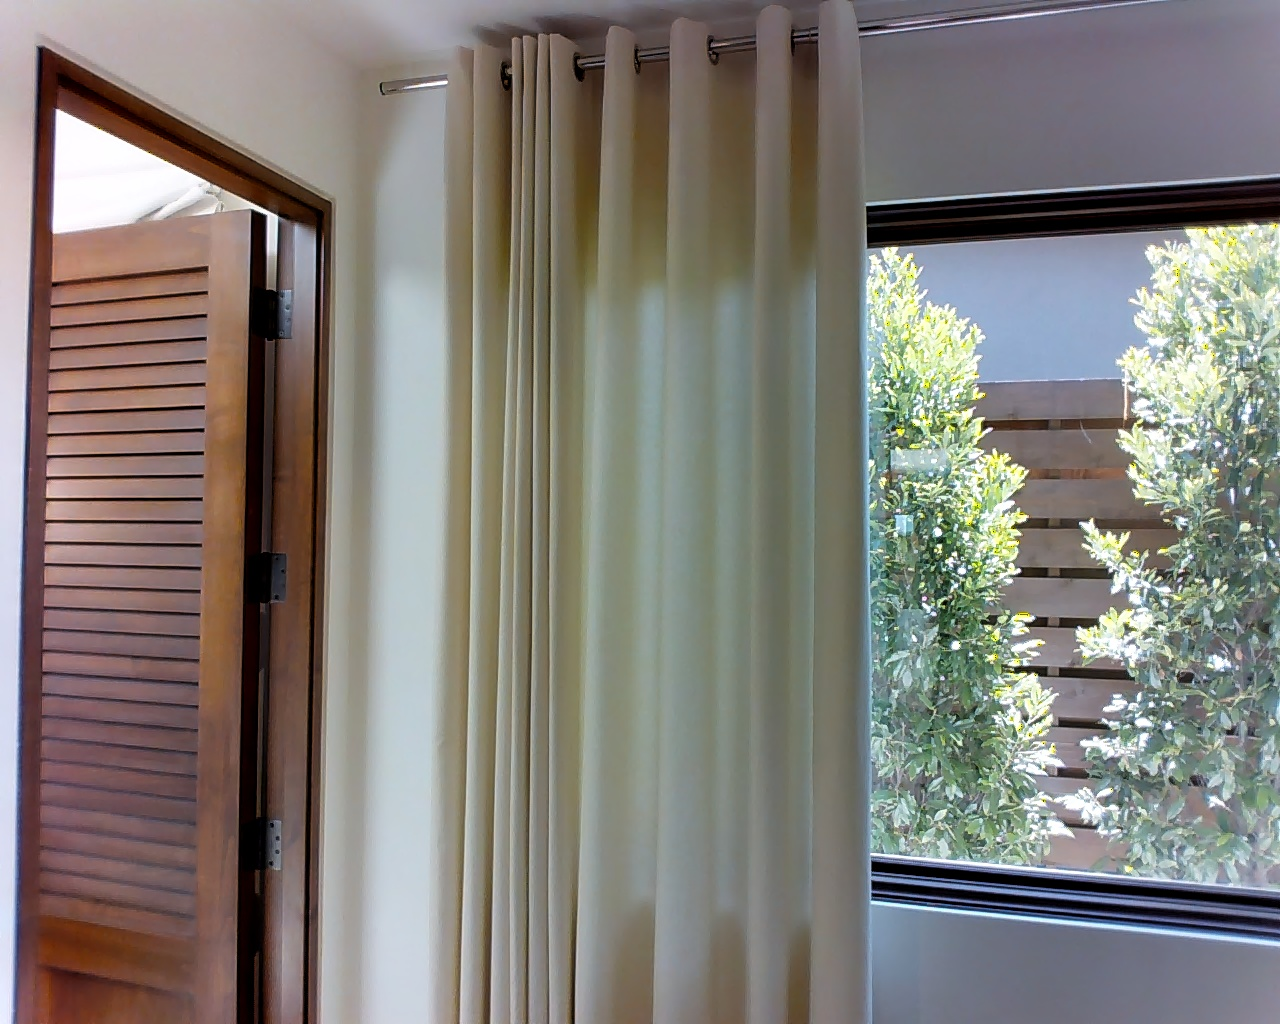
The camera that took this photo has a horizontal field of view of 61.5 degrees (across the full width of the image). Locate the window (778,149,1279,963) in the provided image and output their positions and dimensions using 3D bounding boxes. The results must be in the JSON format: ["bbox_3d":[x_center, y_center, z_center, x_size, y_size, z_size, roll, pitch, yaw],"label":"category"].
[{"bbox_3d":[1.320,0.080,2.130,2.040,1.530,0.270,1,-2,16],"label":"window"}]
